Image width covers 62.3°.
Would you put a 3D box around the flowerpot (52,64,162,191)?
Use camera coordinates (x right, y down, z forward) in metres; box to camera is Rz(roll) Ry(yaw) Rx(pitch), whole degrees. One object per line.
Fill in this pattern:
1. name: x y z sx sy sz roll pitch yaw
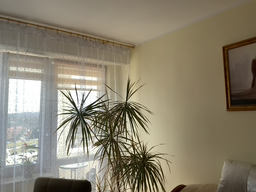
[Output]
1. flowerpot: -0.150 0.710 2.370 0.890 1.900 0.990 -1 -4 18
